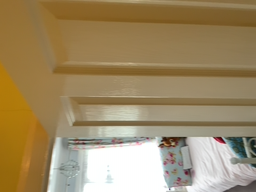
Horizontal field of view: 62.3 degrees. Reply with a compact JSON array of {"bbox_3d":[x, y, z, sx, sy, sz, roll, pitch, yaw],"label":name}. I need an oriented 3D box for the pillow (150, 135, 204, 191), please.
[{"bbox_3d":[0.700,0.970,3.110,0.620,0.470,0.180,49,168,25],"label":"pillow"}]
